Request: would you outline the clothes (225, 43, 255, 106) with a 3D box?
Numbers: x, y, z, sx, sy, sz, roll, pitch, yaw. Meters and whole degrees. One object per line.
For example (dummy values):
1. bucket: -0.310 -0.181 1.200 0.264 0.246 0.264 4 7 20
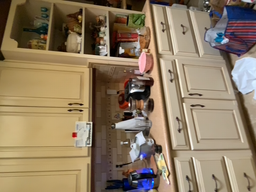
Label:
1. clothes: 1.110 -0.190 1.970 0.340 0.090 0.470 122 148 -62
